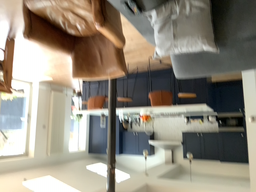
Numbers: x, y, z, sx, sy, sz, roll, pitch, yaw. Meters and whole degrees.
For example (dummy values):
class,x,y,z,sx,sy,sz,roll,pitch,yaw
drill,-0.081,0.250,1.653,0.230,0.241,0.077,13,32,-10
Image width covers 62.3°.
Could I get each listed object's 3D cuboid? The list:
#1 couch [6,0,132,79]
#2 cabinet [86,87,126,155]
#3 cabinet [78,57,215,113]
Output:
class,x,y,z,sx,sy,sz,roll,pitch,yaw
couch,-0.420,-0.650,1.840,0.670,0.800,0.820,-3,171,20
cabinet,-0.770,0.880,7.490,1.220,2.210,0.610,-4,171,25
cabinet,0.360,-0.130,5.100,3.110,0.920,1.000,-4,171,26
